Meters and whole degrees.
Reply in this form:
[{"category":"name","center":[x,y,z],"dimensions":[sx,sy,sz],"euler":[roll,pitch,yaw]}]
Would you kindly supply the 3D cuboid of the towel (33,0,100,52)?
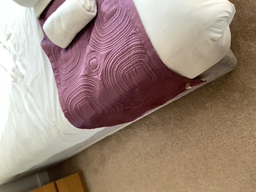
[{"category":"towel","center":[-0.230,-0.280,0.760],"dimensions":[0.260,0.070,0.120],"euler":[-27,76,35]}]
